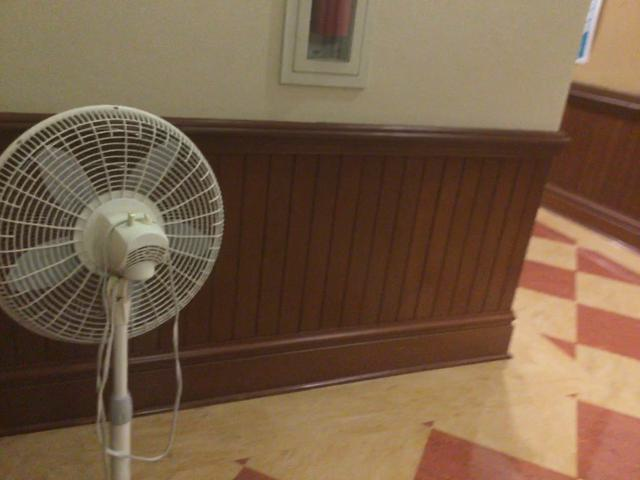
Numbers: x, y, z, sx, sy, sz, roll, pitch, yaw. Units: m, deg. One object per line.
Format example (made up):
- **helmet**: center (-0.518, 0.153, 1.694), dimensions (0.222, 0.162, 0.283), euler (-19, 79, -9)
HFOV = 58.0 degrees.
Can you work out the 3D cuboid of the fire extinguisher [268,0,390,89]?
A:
- **fire extinguisher**: center (0.020, -0.790, 1.670), dimensions (0.330, 0.650, 0.140), euler (-10, 23, -18)
